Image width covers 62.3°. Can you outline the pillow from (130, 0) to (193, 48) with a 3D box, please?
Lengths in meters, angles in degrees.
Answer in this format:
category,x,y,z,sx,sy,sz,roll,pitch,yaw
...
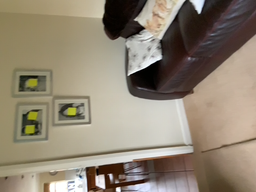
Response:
category,x,y,z,sx,sy,sz,roll,pitch,yaw
pillow,0.240,-0.680,1.650,0.650,0.260,0.270,122,143,-64

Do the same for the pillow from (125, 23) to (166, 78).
category,x,y,z,sx,sy,sz,roll,pitch,yaw
pillow,0.150,-0.420,2.050,0.410,0.220,0.360,127,138,-67
